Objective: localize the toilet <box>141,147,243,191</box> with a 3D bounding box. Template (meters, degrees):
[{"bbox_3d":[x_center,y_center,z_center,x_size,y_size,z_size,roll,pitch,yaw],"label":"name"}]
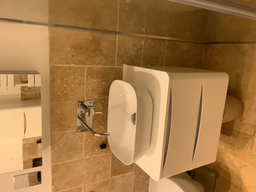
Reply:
[{"bbox_3d":[0.460,0.720,1.640,0.540,0.470,0.370,24,113,57],"label":"toilet"}]

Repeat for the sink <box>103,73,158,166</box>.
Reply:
[{"bbox_3d":[-0.010,0.110,1.260,0.380,0.120,0.440,24,113,57],"label":"sink"}]
